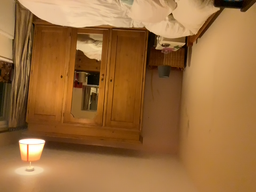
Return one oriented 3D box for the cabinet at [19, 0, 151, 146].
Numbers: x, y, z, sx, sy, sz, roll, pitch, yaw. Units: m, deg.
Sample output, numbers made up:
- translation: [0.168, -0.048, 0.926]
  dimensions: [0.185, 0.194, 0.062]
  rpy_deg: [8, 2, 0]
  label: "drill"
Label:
- translation: [-0.650, -0.410, 3.400]
  dimensions: [1.850, 2.150, 0.430]
  rpy_deg: [4, 179, 5]
  label: "cabinet"
